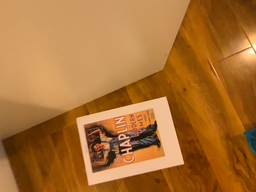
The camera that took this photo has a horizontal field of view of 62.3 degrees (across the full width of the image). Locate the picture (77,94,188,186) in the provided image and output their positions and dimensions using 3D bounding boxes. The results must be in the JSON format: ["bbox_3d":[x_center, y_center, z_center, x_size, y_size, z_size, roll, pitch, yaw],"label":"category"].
[{"bbox_3d":[0.010,0.130,0.640,0.290,0.020,0.210,-14,82,1],"label":"picture"}]
